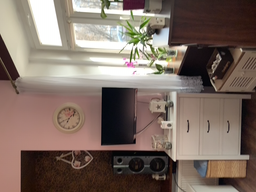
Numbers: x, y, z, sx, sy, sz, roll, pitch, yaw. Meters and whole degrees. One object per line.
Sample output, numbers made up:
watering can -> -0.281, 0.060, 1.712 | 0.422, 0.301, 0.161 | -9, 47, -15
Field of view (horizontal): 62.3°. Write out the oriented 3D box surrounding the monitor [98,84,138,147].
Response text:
monitor -> -0.120, 0.250, 2.690 | 0.050, 0.450, 0.780 | -117, 23, -80

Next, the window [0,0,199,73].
window -> -0.350, -1.020, 2.730 | 1.390, 2.120, 0.600 | 100, 170, -55
